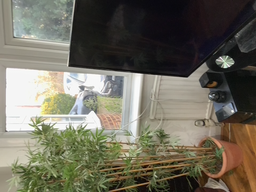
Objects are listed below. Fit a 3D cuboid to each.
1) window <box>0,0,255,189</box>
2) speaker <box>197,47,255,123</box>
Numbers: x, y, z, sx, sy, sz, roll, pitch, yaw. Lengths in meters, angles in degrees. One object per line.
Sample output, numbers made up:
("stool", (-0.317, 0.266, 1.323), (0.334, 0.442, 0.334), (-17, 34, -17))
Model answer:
("window", (-0.490, -0.520, 0.530), (2.800, 1.510, 1.140), (124, 143, -56))
("speaker", (0.780, -0.070, 1.510), (0.230, 0.390, 0.470), (126, 142, -58))
